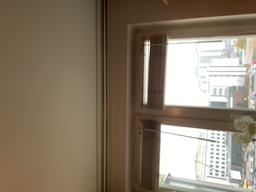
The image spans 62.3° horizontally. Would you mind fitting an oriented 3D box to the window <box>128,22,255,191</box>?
[{"bbox_3d":[0.790,0.210,1.620,0.090,1.640,1.480,-9,-79,-68],"label":"window"}]
